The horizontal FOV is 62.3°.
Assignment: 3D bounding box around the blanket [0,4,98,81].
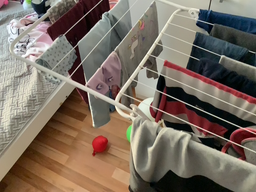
[{"bbox_3d":[-0.660,-0.430,1.590,0.730,0.200,0.410,20,57,21],"label":"blanket"}]
